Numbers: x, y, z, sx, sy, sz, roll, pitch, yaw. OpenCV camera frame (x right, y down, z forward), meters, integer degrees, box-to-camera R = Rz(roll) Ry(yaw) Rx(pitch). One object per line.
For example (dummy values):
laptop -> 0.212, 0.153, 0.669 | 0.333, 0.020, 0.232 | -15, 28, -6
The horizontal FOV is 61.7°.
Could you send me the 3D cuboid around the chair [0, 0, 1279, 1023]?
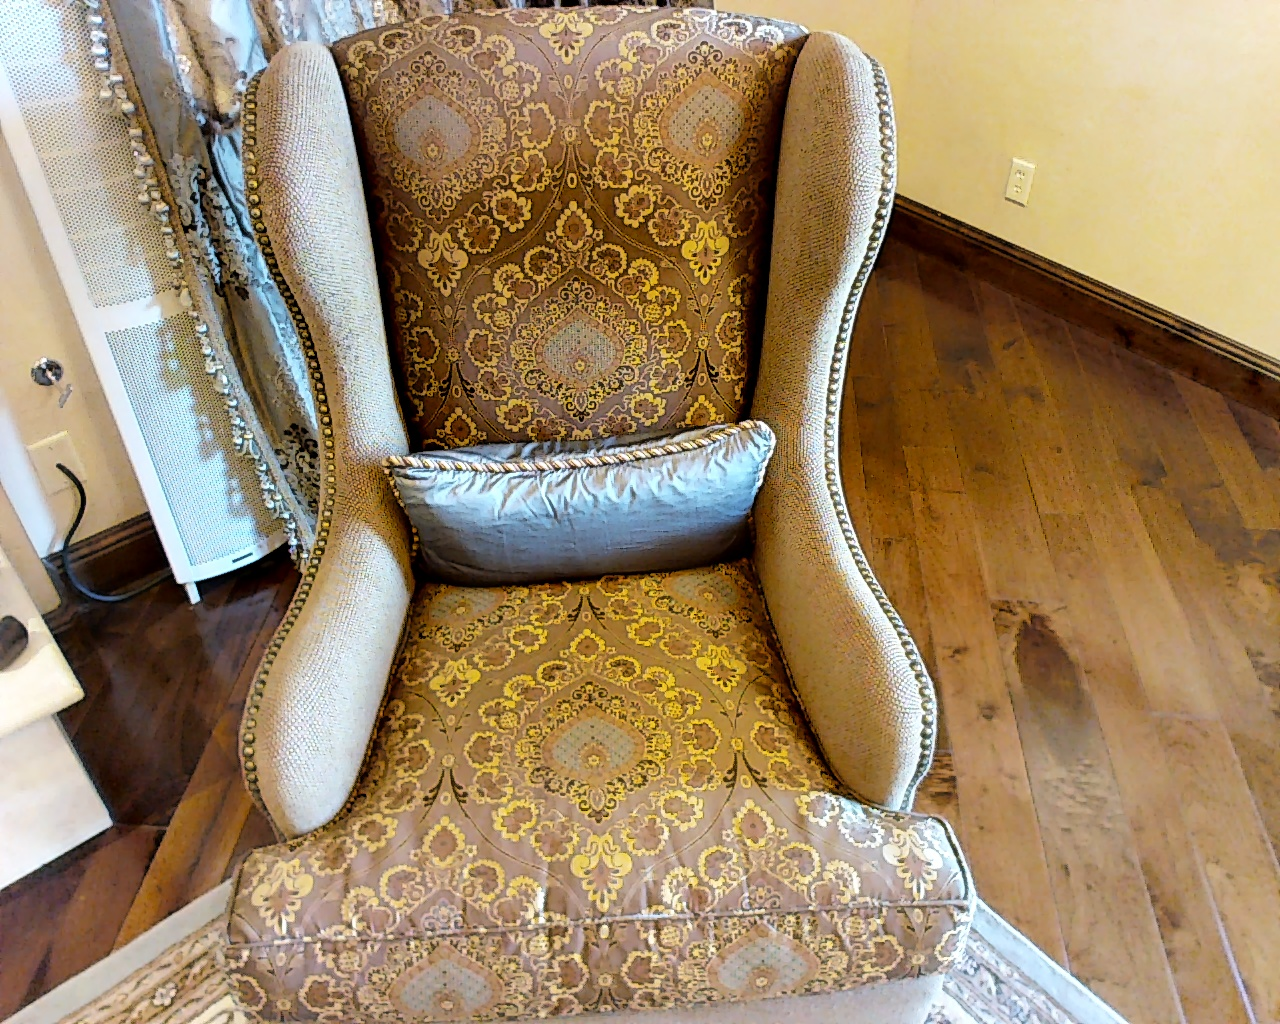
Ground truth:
chair -> -0.060, 0.050, 1.430 | 0.930, 1.230, 1.090 | -3, 41, -3
